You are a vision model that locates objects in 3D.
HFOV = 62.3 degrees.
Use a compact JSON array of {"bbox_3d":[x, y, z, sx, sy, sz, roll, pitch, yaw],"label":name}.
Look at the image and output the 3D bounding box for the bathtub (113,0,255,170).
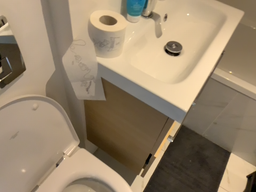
[{"bbox_3d":[0.640,-0.130,1.530,1.360,0.570,0.620,31,55,15],"label":"bathtub"}]
